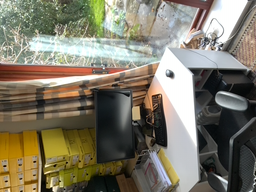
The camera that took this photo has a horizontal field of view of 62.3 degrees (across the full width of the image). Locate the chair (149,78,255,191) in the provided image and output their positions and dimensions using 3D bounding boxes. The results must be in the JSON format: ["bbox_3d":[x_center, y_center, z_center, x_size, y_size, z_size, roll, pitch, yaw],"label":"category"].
[{"bbox_3d":[0.810,0.310,1.420,0.660,1.050,0.690,36,122,56],"label":"chair"}]

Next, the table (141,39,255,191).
[{"bbox_3d":[0.660,0.250,2.060,0.760,0.720,1.340,-4,88,62],"label":"table"}]

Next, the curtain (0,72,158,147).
[{"bbox_3d":[-0.510,0.100,1.930,0.280,1.550,0.530,55,137,46],"label":"curtain"}]
